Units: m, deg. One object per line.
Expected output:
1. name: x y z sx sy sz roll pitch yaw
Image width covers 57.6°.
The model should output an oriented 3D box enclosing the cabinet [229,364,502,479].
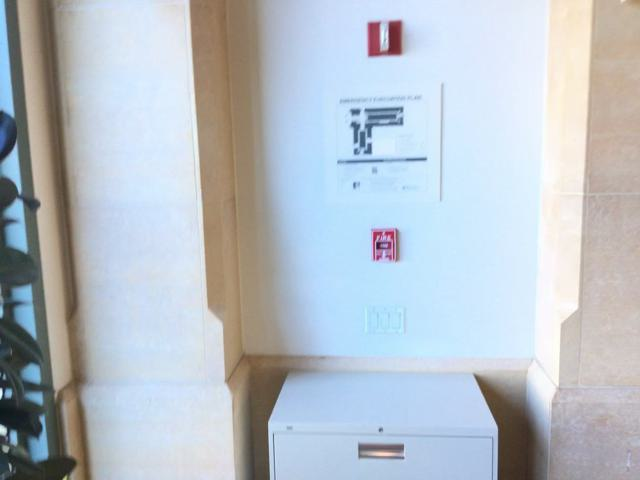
1. cabinet: 0.200 0.920 2.150 0.860 0.750 0.570 -2 6 12
